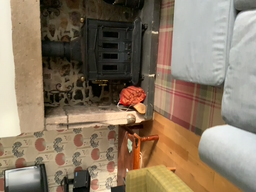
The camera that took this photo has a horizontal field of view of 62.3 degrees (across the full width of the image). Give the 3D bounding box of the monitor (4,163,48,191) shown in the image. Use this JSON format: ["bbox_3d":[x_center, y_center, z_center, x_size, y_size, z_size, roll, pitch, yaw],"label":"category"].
[{"bbox_3d":[-1.350,1.310,2.830,0.040,0.520,0.720,126,136,-57],"label":"monitor"}]

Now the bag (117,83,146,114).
[{"bbox_3d":[0.040,0.020,3.000,0.390,0.250,0.350,-149,59,-64],"label":"bag"}]
